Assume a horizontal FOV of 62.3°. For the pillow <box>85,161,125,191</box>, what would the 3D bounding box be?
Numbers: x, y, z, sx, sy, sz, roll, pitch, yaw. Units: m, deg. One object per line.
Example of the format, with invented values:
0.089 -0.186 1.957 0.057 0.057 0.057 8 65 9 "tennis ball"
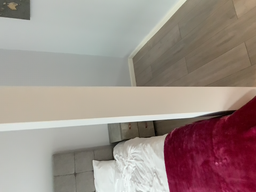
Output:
-0.250 1.000 2.350 0.120 0.420 0.520 68 -159 -77 "pillow"
